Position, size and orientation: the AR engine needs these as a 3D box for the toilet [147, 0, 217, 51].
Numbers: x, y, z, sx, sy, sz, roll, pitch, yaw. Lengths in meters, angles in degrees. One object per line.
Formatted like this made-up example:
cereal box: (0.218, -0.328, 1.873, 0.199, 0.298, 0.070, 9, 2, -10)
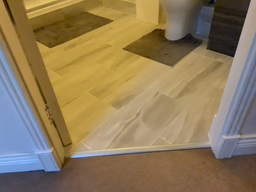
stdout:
toilet: (0.490, -0.890, 1.830, 0.380, 0.760, 0.550, 28, 50, 31)
